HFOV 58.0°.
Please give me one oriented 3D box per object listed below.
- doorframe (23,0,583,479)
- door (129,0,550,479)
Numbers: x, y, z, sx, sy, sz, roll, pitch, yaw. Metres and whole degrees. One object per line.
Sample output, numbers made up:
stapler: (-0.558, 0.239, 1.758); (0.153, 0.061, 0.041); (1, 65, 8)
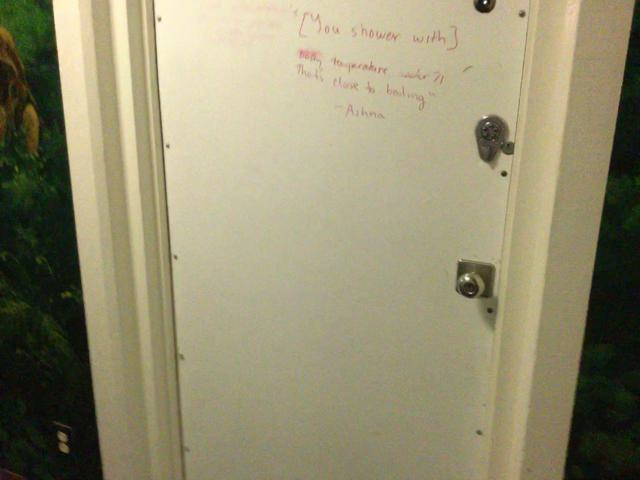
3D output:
doorframe: (-0.070, -0.080, 1.300); (1.120, 2.130, 0.240); (6, 20, 21)
door: (0.000, -0.070, 1.320); (0.880, 2.120, 0.130); (7, 18, 21)
